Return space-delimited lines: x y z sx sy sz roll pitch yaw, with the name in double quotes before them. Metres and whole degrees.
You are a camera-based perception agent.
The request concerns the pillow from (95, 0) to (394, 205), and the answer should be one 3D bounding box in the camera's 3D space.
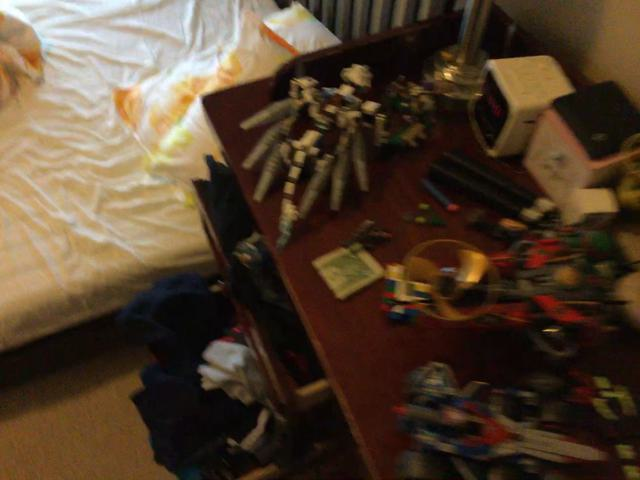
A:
"pillow" -0.220 -0.460 1.670 0.670 0.300 0.480 -17 60 -18
